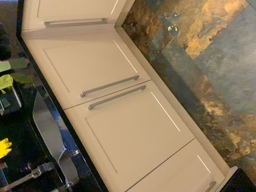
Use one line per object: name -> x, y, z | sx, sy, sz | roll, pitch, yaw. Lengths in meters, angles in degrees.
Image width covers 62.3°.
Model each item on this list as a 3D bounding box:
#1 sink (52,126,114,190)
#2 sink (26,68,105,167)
sink -> -0.280, 0.370, 1.240 | 0.180, 0.180, 0.410 | 56, 138, 15
sink -> -0.430, 0.150, 1.360 | 0.400, 0.230, 0.490 | 56, 138, 15
